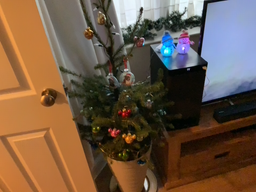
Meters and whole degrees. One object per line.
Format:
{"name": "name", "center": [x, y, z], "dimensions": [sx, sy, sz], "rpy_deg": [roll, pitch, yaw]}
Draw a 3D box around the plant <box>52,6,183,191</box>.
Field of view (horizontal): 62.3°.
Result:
{"name": "plant", "center": [-0.030, 0.120, 1.220], "dimensions": [0.490, 1.070, 0.370], "rpy_deg": [-14, 36, -10]}
